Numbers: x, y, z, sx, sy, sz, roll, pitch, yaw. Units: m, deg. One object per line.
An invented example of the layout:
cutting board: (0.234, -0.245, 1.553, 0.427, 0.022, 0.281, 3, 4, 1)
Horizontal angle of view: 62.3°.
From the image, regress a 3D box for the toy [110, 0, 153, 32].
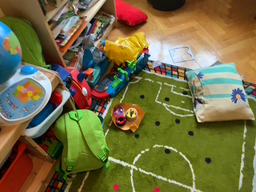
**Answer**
toy: (0.040, -0.800, 2.010, 0.320, 0.190, 0.290, 14, 57, 13)

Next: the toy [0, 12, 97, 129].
toy: (-0.510, -0.120, 1.270, 0.480, 0.630, 0.240, 15, 57, 14)

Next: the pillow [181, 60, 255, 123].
pillow: (0.600, -0.040, 1.460, 0.380, 0.130, 0.430, -2, 55, 2)
